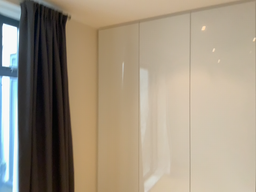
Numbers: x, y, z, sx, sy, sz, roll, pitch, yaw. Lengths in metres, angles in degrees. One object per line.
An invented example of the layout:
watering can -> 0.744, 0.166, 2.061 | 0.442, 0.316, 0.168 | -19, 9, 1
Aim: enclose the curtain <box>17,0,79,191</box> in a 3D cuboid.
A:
curtain -> -0.600, 0.440, 1.630 | 0.240, 2.410, 0.380 | 0, 0, 30
